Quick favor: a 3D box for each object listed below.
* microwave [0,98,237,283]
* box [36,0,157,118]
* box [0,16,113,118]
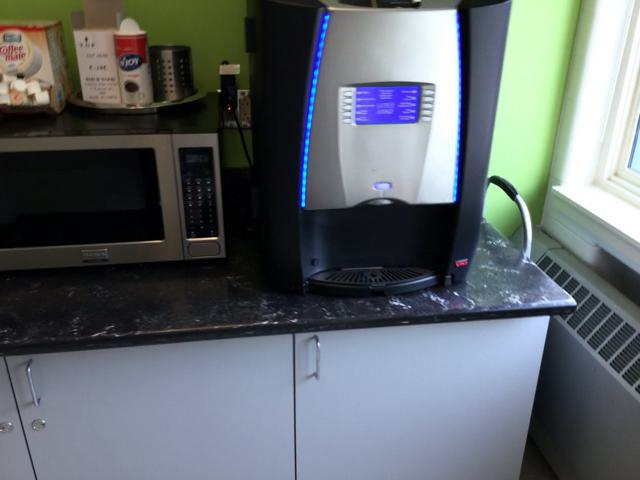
[{"bbox_3d":[-0.520,-0.130,1.360,0.620,0.360,0.260,-2,23,-10],"label":"microwave"},{"bbox_3d":[-0.510,-0.450,1.360,0.210,0.280,0.230,-2,23,-10],"label":"box"},{"bbox_3d":[-0.670,-0.410,1.350,0.300,0.200,0.250,-2,23,-10],"label":"box"}]
